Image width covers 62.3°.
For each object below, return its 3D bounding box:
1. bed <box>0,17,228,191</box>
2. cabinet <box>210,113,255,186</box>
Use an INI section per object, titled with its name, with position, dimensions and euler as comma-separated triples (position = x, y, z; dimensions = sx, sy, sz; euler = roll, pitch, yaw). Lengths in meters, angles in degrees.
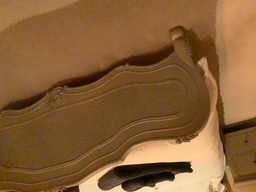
[bed]
position = -0.050, 0.580, 2.070
dimensions = 1.730, 0.600, 2.190
euler = -19, 148, 17
[cabinet]
position = 1.320, 0.630, 2.450
dimensions = 0.480, 0.660, 0.390
euler = -19, 148, 17
